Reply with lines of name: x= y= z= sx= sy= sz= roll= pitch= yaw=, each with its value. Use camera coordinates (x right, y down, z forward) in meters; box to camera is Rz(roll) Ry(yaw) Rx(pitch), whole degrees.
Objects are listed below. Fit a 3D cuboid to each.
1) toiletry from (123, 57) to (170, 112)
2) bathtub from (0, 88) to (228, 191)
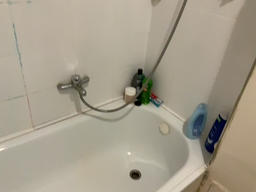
toiletry: x=0.110 y=-0.080 z=1.350 sx=0.160 sy=0.250 sz=0.210 roll=-21 pitch=43 yaw=-36
bathtub: x=-0.330 y=0.540 z=1.030 sx=1.530 sy=0.530 sz=0.700 roll=-19 pitch=42 yaw=-34
